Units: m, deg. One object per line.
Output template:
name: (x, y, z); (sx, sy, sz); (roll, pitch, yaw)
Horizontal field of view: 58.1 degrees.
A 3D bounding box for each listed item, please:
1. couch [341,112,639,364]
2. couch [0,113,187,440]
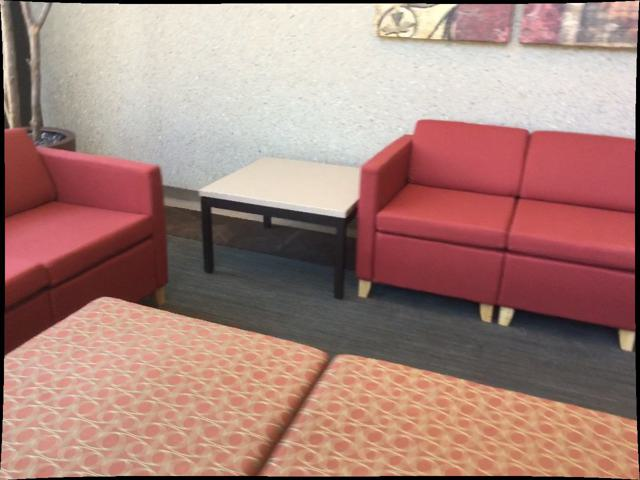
couch: (1.168, -0.050, 2.670); (1.937, 0.761, 0.840); (11, 24, 20)
couch: (-1.388, 0.170, 1.900); (0.879, 0.801, 1.870); (11, 24, 21)
